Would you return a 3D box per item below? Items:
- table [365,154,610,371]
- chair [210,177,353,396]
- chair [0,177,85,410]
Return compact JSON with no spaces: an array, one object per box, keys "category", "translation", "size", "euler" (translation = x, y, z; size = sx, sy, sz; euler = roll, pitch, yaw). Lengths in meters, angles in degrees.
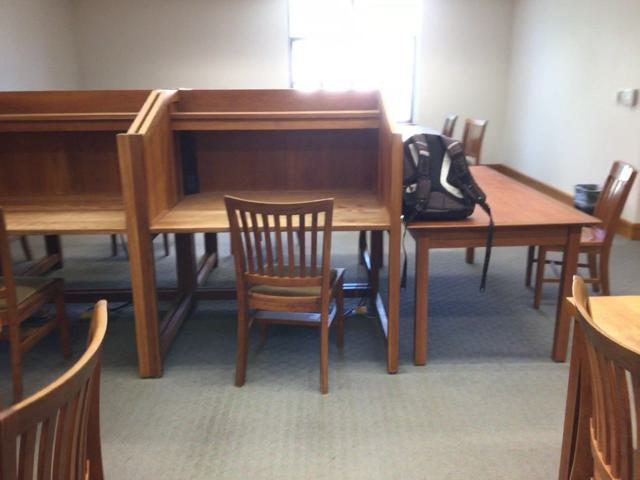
[{"category":"table","translation":[0.840,0.000,3.580],"size":[0.960,0.830,1.760],"euler":[-2,15,0]},{"category":"chair","translation":[-0.160,0.190,2.840],"size":[0.580,0.890,0.640],"euler":[-2,15,0]},{"category":"chair","translation":[-1.570,0.220,2.720],"size":[0.550,0.920,0.650],"euler":[-2,15,0]}]
